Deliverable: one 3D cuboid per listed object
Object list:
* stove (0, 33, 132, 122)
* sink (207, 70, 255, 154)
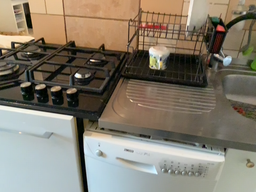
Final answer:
[{"bbox_3d":[-0.340,-0.140,0.910,0.610,0.060,0.600,8,31,9],"label":"stove"},{"bbox_3d":[0.550,0.060,0.860,0.370,0.160,0.350,8,31,9],"label":"sink"}]
